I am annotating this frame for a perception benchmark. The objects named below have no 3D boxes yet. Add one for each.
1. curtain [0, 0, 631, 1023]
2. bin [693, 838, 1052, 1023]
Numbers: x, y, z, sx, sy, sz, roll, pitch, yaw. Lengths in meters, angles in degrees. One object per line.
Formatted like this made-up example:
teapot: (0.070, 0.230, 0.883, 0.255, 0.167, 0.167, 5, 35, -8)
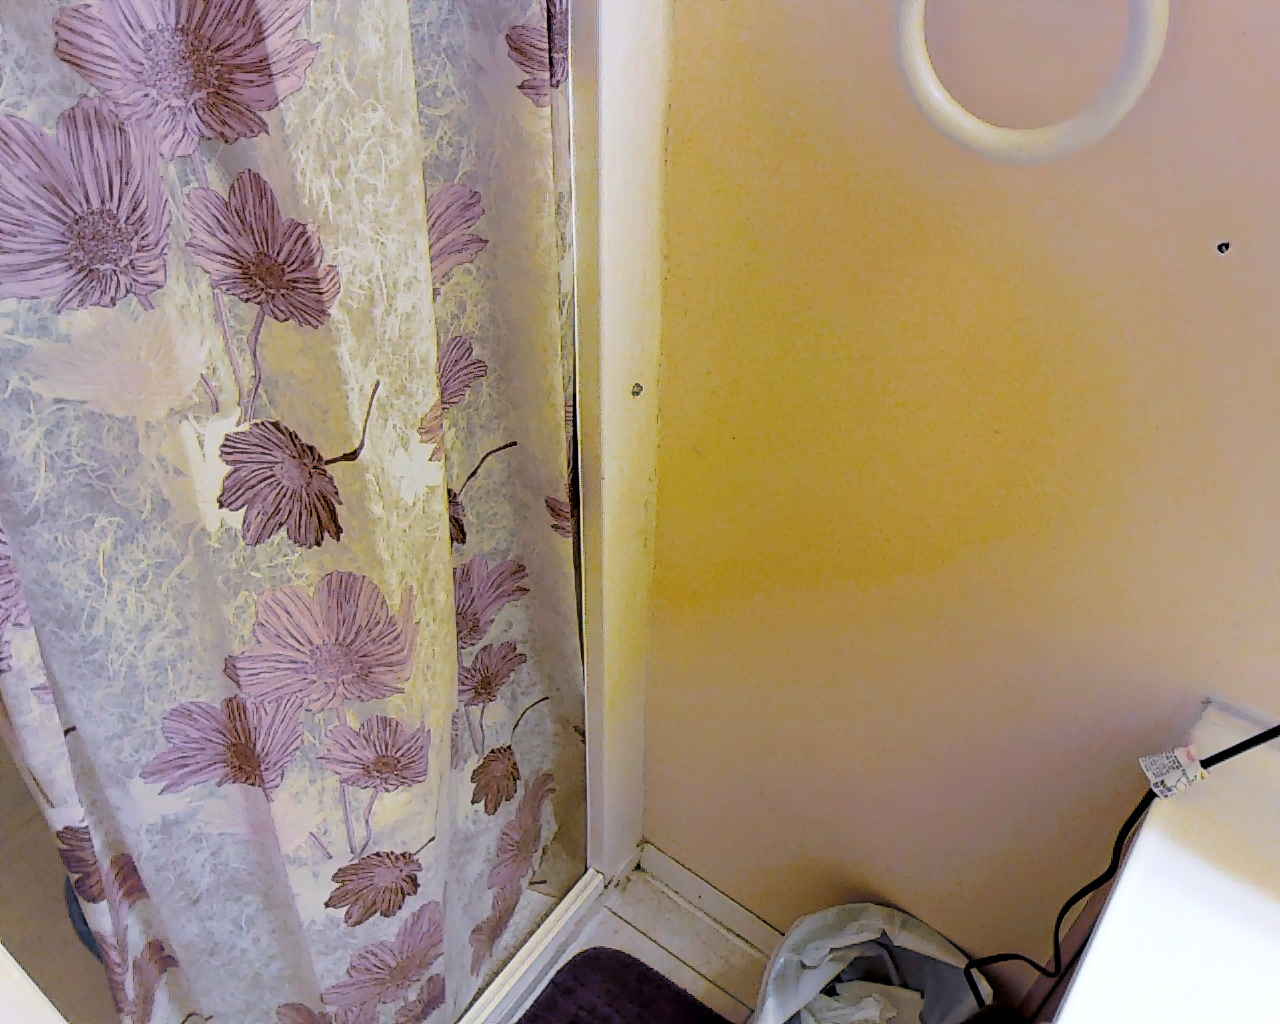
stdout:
curtain: (-0.420, -0.030, 0.930, 0.560, 1.830, 0.620, 26, 50, 24)
bin: (0.260, 0.670, 1.320, 0.310, 0.320, 0.290, 26, 50, 24)
